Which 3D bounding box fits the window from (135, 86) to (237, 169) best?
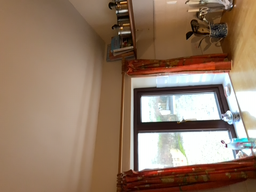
[{"bbox_3d":[0.460,0.260,1.890,0.070,0.780,0.730,76,-168,-59],"label":"window"}]
